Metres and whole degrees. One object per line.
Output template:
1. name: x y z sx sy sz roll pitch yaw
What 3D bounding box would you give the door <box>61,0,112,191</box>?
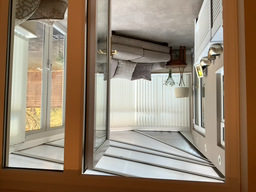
1. door: -0.270 -0.430 1.760 0.080 2.060 0.970 1 176 5
